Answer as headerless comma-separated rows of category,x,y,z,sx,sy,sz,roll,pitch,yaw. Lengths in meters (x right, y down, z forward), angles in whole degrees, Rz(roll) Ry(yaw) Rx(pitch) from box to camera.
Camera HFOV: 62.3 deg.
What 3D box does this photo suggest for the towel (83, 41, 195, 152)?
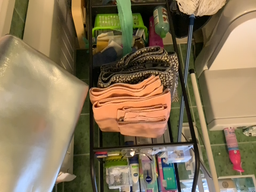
towel,0.020,0.060,1.070,0.380,0.320,0.630,-3,157,-3
